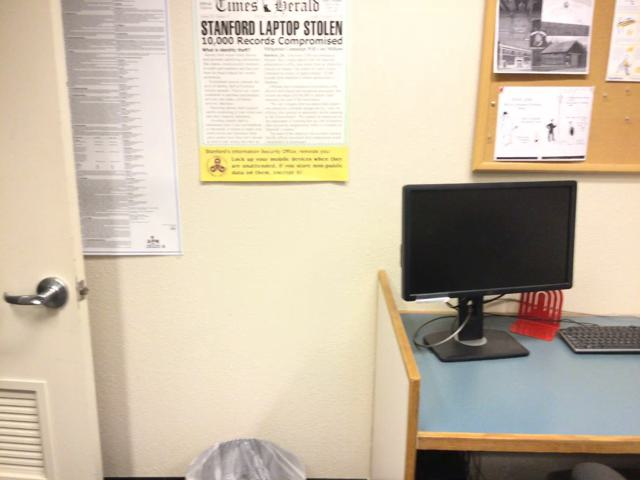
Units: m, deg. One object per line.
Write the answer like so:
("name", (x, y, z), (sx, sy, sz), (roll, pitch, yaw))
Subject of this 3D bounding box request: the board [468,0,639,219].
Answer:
("board", (0.980, -0.450, 1.630), (1.080, 0.750, 0.090), (-1, 12, 5))

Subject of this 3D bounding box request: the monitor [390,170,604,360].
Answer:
("monitor", (0.450, 0.060, 1.570), (0.500, 0.460, 0.240), (-1, 12, 5))

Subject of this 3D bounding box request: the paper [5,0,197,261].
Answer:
("paper", (-0.650, -0.420, 1.730), (0.470, 0.970, 0.080), (-1, 12, 5))

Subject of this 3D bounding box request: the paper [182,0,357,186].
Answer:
("paper", (-0.140, -0.480, 1.700), (0.480, 0.620, 0.080), (-1, 12, 5))
